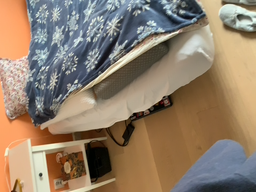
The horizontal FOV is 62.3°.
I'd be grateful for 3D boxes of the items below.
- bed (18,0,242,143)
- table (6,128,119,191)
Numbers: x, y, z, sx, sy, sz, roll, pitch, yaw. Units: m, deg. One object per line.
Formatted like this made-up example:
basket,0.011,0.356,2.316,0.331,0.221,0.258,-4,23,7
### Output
bed,-0.310,-0.860,1.750,1.520,0.480,2.120,-26,71,37
table,-0.500,0.580,1.680,0.380,0.690,0.510,-27,70,36
